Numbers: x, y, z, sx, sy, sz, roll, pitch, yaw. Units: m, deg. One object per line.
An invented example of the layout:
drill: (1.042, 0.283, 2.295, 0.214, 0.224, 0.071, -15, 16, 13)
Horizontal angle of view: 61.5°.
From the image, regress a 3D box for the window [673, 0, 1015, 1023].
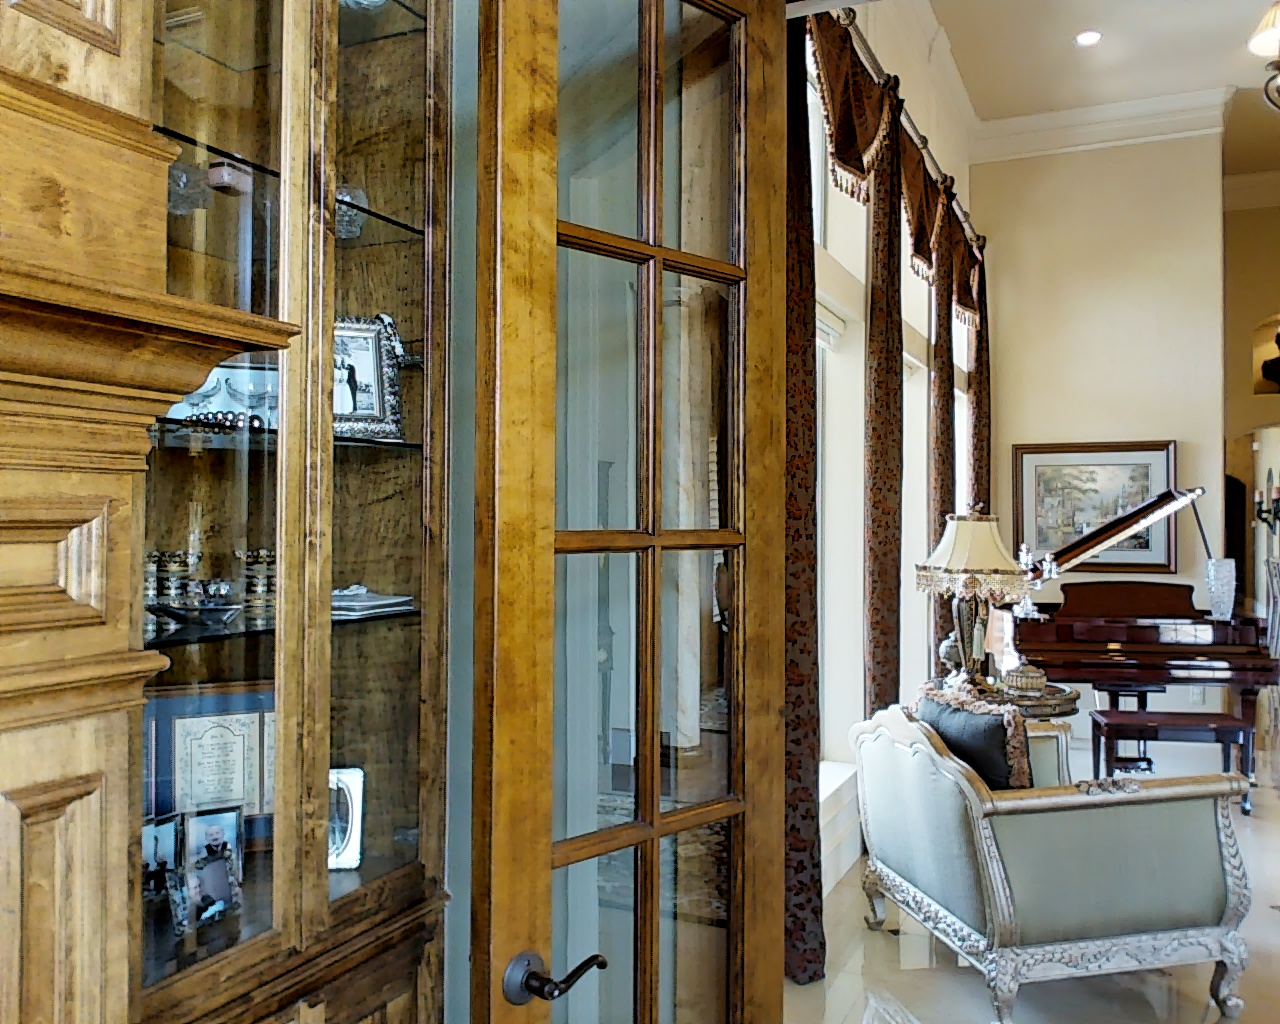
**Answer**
window: (1.479, -0.150, 6.010, 0.610, 3.881, 5.090, -1, -1, 25)
